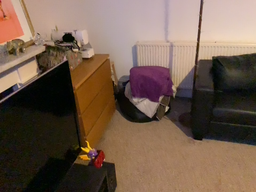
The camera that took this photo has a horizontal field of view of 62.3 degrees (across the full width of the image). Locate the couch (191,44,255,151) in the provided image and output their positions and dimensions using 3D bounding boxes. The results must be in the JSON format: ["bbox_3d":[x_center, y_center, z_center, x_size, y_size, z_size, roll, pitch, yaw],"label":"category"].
[{"bbox_3d":[1.650,0.000,2.030,1.930,0.740,0.890,4,30,16],"label":"couch"}]
